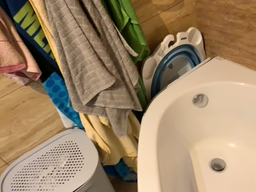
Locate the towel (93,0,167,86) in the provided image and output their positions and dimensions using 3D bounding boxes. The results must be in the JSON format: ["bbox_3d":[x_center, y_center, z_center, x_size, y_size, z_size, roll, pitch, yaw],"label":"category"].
[{"bbox_3d":[-0.020,-0.370,0.820,0.170,0.660,0.180,-31,41,-14],"label":"towel"}]

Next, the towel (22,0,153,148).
[{"bbox_3d":[-0.130,-0.160,0.780,0.260,0.810,0.150,-29,40,-12],"label":"towel"}]
